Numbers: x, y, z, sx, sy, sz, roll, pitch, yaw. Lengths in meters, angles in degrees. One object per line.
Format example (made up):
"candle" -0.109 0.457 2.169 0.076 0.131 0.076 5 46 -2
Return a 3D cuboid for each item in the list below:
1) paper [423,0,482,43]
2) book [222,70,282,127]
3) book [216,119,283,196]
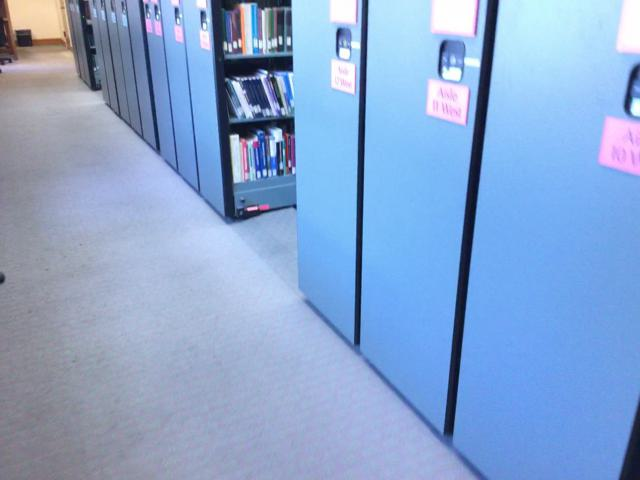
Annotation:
"paper" 0.320 -0.590 1.400 0.020 0.210 0.190 -9 20 -25
"book" -0.390 -0.820 3.330 0.280 0.290 0.200 -9 20 -25
"book" -0.420 -0.500 3.460 0.320 0.400 0.230 -9 20 -25
